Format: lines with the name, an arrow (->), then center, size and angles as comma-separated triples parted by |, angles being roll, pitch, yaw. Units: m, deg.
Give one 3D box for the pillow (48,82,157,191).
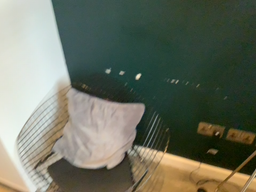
pillow -> -0.150, 0.240, 1.300 | 0.500, 0.480, 0.180 | 23, 11, 4
